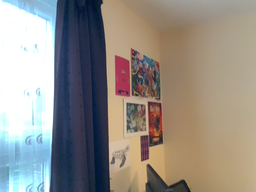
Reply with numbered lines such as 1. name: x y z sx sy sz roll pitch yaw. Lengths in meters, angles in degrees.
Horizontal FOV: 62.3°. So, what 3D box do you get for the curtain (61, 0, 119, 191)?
1. curtain: -0.190 0.070 1.140 0.130 1.310 0.310 -4 -7 30
